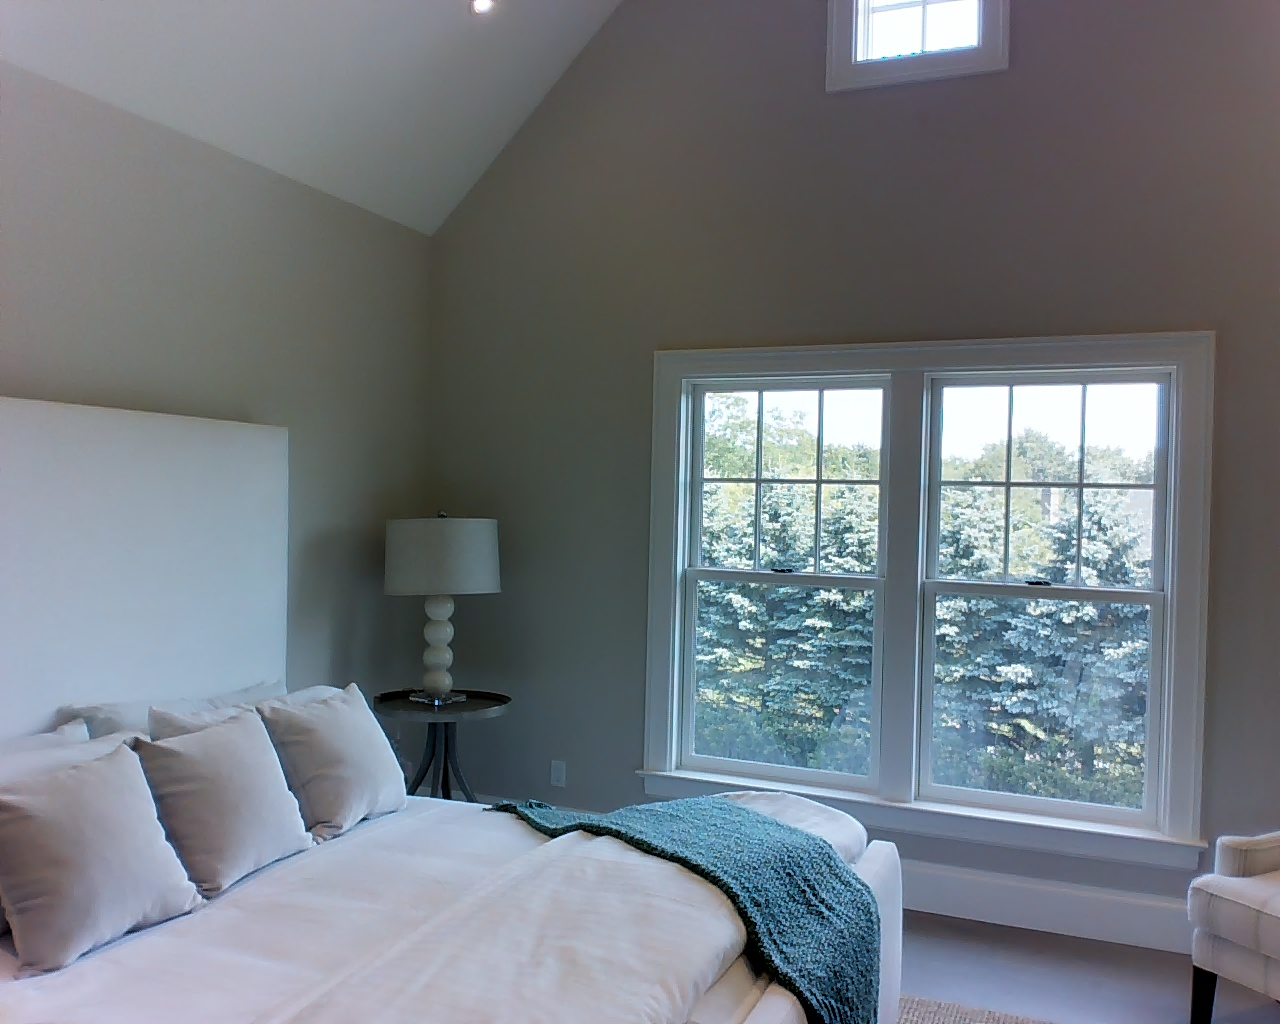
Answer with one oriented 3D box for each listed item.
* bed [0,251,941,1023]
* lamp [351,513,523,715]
[{"bbox_3d":[-0.710,0.600,2.690,2.520,1.810,2.210,1,0,23],"label":"bed"},{"bbox_3d":[-0.870,0.400,4.570,0.460,0.780,0.610,1,0,-40],"label":"lamp"}]
